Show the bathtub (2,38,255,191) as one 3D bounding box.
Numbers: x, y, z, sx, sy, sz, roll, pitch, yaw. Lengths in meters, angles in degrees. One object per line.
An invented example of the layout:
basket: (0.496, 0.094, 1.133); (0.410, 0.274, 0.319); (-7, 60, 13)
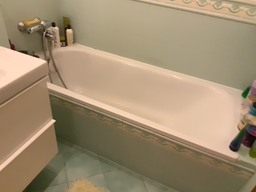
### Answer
bathtub: (-0.010, 0.120, 1.670); (1.670, 0.550, 0.690); (20, 39, 17)
